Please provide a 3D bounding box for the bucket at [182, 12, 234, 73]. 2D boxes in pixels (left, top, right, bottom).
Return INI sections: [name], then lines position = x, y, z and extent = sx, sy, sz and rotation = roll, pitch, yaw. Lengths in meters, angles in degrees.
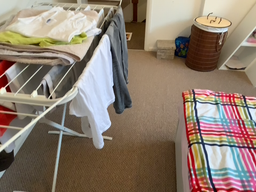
[bucket]
position = 0.850, -0.600, 2.370
extent = 0.390, 0.510, 0.440
rotation = 5, 38, 6
